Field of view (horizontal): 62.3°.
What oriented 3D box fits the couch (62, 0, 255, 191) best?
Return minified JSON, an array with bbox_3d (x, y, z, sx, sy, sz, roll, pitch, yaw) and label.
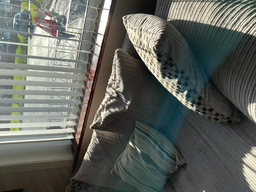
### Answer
[{"bbox_3d":[0.110,0.800,1.610,1.250,0.850,2.890,58,137,47],"label":"couch"}]
